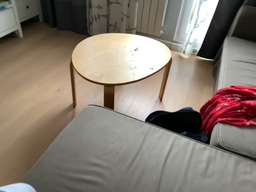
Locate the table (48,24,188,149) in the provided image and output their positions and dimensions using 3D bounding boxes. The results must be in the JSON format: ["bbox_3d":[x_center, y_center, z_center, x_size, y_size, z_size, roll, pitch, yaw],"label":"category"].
[{"bbox_3d":[-0.070,-0.140,1.630,0.640,0.460,0.750,35,48,30],"label":"table"}]

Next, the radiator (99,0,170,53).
[{"bbox_3d":[0.050,-0.930,2.410,0.760,0.730,0.150,15,41,9],"label":"radiator"}]

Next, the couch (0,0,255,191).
[{"bbox_3d":[0.620,0.130,1.210,1.620,0.700,2.440,18,42,13],"label":"couch"}]
